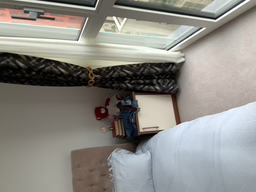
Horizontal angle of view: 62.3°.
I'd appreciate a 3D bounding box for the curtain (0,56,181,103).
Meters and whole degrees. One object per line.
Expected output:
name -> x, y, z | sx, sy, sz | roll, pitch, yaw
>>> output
curtain -> -0.570, -0.140, 2.000 | 0.320, 2.300, 0.290 | 138, 127, -61
